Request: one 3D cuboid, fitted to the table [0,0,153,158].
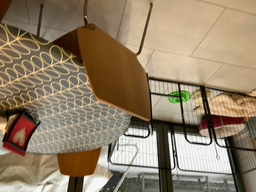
[{"bbox_3d":[-0.630,-0.170,1.320,1.210,0.720,1.160,8,148,-11],"label":"table"}]
